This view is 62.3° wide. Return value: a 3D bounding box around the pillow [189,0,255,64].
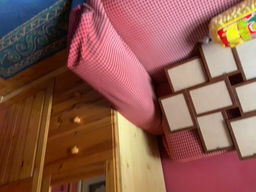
[{"bbox_3d":[0.580,-0.350,0.800,0.640,0.110,0.190,-25,142,26],"label":"pillow"}]
